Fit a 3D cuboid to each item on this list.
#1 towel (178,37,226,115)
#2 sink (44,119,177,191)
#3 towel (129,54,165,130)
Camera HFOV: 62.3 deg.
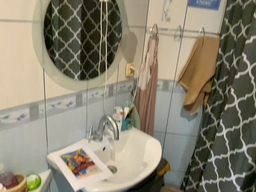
[{"bbox_3d":[0.490,-0.130,1.450,0.180,0.500,0.130,4,20,-4],"label":"towel"},{"bbox_3d":[-0.080,0.380,1.220,0.440,0.190,0.610,22,25,37],"label":"sink"},{"bbox_3d":[0.130,-0.020,1.570,0.190,0.550,0.100,4,20,-5],"label":"towel"}]
